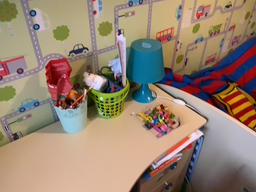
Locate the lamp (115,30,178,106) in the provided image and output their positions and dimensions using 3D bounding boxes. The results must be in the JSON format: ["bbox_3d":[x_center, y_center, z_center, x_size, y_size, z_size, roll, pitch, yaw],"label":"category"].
[{"bbox_3d":[0.080,-0.140,1.030,0.210,0.260,0.190,-25,46,-30],"label":"lamp"}]
